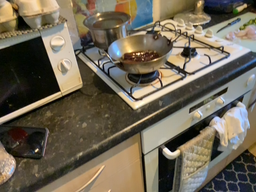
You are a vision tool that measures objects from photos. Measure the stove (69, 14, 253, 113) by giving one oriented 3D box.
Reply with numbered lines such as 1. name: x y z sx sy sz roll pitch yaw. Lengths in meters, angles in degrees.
1. stove: 0.120 -0.210 0.930 0.590 0.040 0.520 -27 43 -24
